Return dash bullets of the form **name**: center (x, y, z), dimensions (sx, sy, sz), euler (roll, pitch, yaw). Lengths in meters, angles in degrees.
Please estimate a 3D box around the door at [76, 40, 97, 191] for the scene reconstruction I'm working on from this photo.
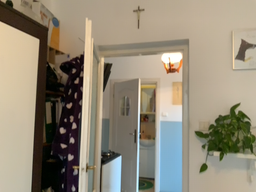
- **door**: center (-0.320, 0.630, 1.640), dimensions (0.060, 1.880, 0.860), euler (2, -4, -7)

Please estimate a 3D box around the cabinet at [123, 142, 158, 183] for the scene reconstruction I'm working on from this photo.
- **cabinet**: center (0.320, 1.540, 5.000), dimensions (0.760, 0.770, 0.540), euler (1, -5, 9)

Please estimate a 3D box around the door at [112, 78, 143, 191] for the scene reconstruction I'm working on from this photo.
- **door**: center (-0.030, 0.770, 3.810), dimensions (0.100, 2.110, 0.820), euler (4, -5, -31)
